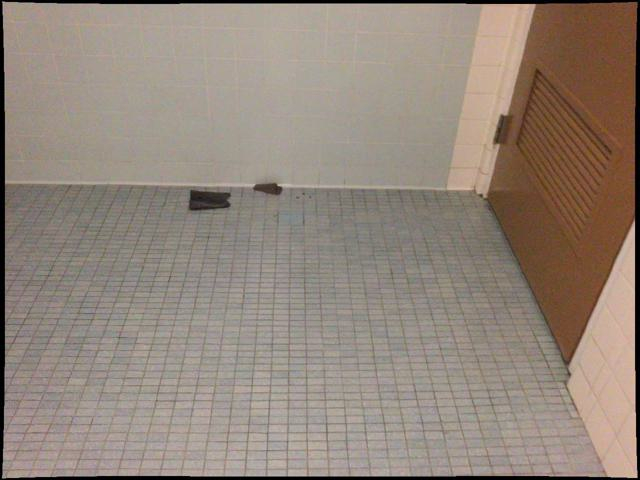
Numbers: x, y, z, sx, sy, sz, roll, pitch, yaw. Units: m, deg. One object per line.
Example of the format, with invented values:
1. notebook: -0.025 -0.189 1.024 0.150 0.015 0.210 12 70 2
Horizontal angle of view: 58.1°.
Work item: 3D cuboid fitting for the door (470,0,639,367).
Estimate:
1. door: 0.708 -0.371 1.670 0.060 1.272 0.801 1 36 -5
